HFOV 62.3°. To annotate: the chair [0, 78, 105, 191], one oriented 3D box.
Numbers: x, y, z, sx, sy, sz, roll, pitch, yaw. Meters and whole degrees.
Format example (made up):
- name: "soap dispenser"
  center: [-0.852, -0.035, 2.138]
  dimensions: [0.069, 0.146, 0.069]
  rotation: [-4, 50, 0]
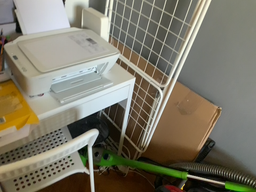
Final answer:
- name: "chair"
  center: [-0.410, 0.360, 1.040]
  dimensions: [0.400, 0.730, 0.370]
  rotation: [-21, 49, -33]
